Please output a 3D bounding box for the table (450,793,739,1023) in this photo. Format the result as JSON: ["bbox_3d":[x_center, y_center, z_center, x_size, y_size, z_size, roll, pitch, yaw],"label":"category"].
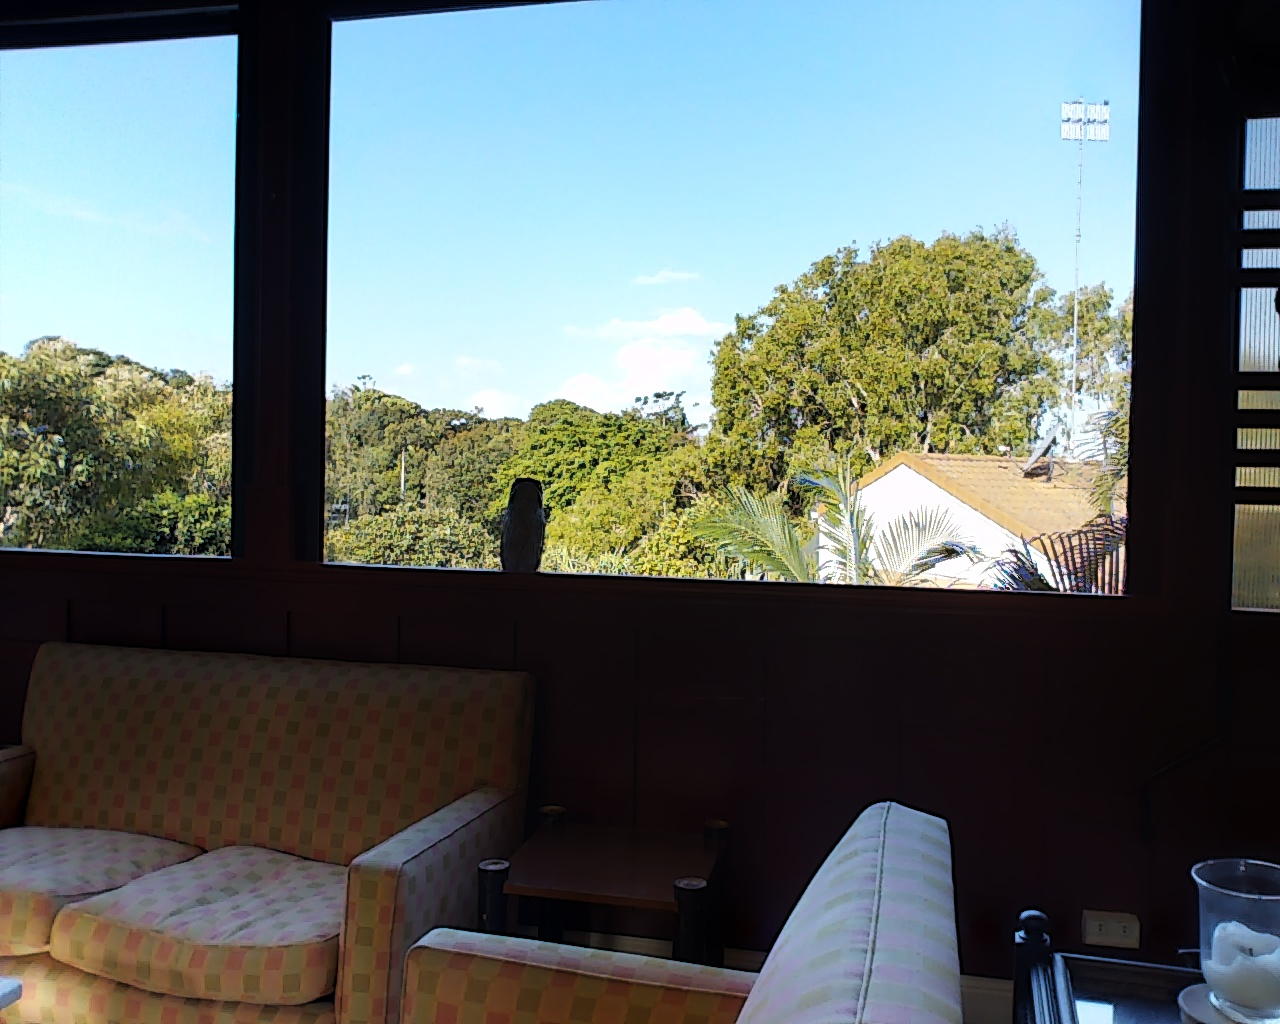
[{"bbox_3d":[-0.080,0.990,2.460,0.530,0.510,0.530,2,1,13],"label":"table"}]

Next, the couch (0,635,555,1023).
[{"bbox_3d":[-1.120,0.810,2.590,1.599,0.830,0.930,2,1,13],"label":"couch"}]

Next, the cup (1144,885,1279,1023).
[{"bbox_3d":[0.620,0.480,1.090,0.160,0.120,0.190,2,1,14],"label":"cup"}]
